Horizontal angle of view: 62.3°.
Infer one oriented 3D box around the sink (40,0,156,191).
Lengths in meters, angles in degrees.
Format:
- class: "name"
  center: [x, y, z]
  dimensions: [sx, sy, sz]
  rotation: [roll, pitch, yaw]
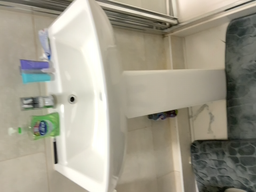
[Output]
- class: "sink"
  center: [-0.130, 0.000, 0.720]
  dimensions: [0.410, 0.150, 0.570]
  rotation: [-4, 91, 49]
